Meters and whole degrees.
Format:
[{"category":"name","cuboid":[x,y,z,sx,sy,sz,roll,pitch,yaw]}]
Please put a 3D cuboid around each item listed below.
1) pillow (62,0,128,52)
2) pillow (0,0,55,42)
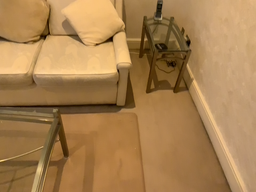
[{"category":"pillow","cuboid":[-0.260,-0.660,1.790,0.180,0.390,0.410,39,1,27]},{"category":"pillow","cuboid":[-0.840,-0.610,1.700,0.420,0.160,0.370,-2,-20,-10]}]
